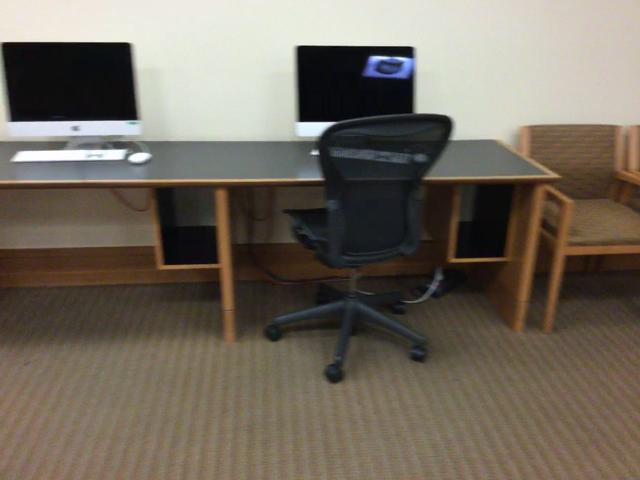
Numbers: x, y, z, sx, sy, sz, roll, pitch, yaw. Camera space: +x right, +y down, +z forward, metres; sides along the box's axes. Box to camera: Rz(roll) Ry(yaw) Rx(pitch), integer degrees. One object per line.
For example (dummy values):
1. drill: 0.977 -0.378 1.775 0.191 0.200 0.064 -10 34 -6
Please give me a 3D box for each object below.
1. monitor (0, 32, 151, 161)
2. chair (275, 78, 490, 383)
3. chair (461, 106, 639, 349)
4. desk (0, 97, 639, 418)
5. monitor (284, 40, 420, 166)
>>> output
1. monitor: -1.050 -0.610 2.460 0.590 0.450 0.270 3 24 -7
2. chair: 0.170 -0.050 2.370 0.630 1.060 0.630 3 24 -7
3. chair: 1.200 -0.080 2.610 0.760 0.850 0.730 3 24 -7
4. desk: -1.470 -0.010 2.300 5.120 0.940 0.970 3 24 -7
5. monitor: 0.120 -0.610 2.570 0.520 0.460 0.290 3 24 -7
